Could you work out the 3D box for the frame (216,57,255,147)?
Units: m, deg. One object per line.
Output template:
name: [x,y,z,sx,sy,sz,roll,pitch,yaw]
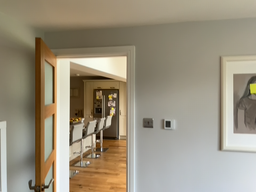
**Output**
frame: [1.020,0.050,1.710,0.560,0.710,0.080,1,1,8]
